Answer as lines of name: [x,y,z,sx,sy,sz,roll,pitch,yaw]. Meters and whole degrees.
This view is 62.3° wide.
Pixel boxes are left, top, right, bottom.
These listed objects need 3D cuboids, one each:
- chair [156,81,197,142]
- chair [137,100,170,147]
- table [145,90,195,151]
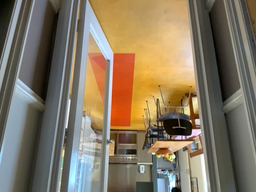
chair: [0.670,0.240,3.070,0.400,0.760,0.510,1,160,-3]
chair: [0.430,0.500,3.780,0.510,0.760,0.440,0,160,1]
table: [0.670,0.550,3.930,0.560,0.760,1.630,0,160,0]
